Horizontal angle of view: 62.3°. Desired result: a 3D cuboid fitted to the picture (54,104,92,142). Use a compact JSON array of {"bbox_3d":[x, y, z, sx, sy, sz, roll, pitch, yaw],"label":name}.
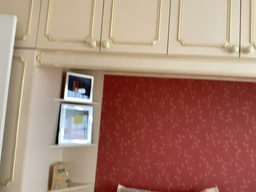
[{"bbox_3d":[-0.460,0.230,1.790,0.280,0.300,0.080,7,-6,-31],"label":"picture"}]
